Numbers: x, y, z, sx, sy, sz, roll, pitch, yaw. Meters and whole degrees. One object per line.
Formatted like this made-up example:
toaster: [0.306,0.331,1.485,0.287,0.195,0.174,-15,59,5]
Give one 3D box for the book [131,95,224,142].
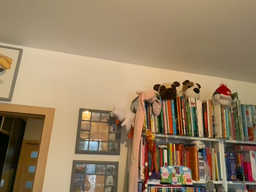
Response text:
book: [0.380,0.200,1.680,0.640,0.260,0.290,8,-17,-13]
